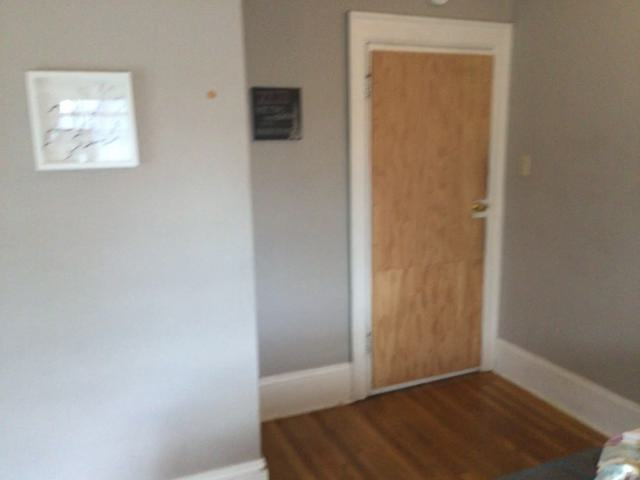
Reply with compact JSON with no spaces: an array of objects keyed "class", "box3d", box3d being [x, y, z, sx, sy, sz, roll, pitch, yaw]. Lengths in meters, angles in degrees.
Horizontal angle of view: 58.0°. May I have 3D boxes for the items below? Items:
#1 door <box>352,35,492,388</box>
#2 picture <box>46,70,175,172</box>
[{"class":"door","box3d":[0.540,-0.130,3.100,0.730,1.780,0.130,-4,10,-23]},{"class":"picture","box3d":[-0.680,-0.390,1.900,0.370,0.310,0.060,-6,12,-22]}]
